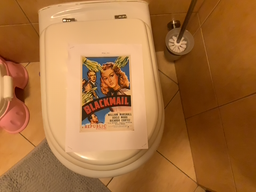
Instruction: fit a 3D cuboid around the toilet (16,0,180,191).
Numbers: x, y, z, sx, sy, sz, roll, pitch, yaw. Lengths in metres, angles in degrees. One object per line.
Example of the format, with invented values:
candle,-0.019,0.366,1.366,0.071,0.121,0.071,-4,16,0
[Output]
toilet,-0.110,0.030,0.790,0.380,0.470,0.530,-7,78,-6
